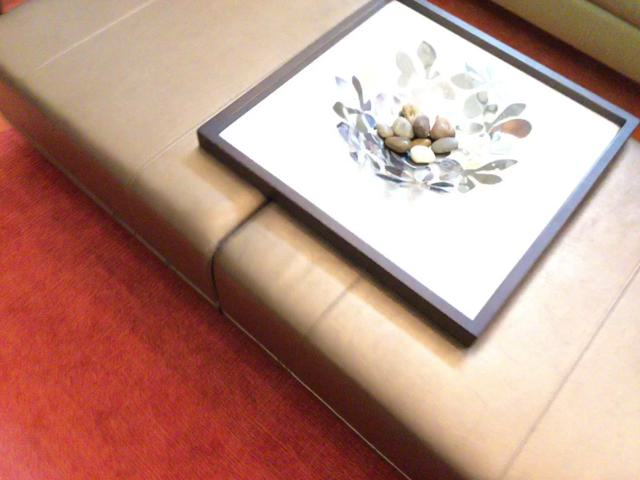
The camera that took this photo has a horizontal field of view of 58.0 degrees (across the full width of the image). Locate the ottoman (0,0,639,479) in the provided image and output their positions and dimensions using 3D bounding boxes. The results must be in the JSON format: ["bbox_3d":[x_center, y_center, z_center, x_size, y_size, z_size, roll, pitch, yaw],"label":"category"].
[{"bbox_3d":[0.050,-0.150,1.460,1.780,0.490,0.930,40,64,15],"label":"ottoman"}]
